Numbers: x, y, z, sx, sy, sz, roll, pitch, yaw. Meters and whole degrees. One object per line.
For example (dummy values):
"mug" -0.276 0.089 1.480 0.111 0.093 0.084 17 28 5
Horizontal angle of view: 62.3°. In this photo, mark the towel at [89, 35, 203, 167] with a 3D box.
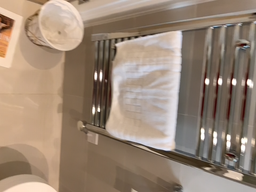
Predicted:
"towel" 0.050 -0.010 0.890 0.140 0.400 0.450 0 101 -51
